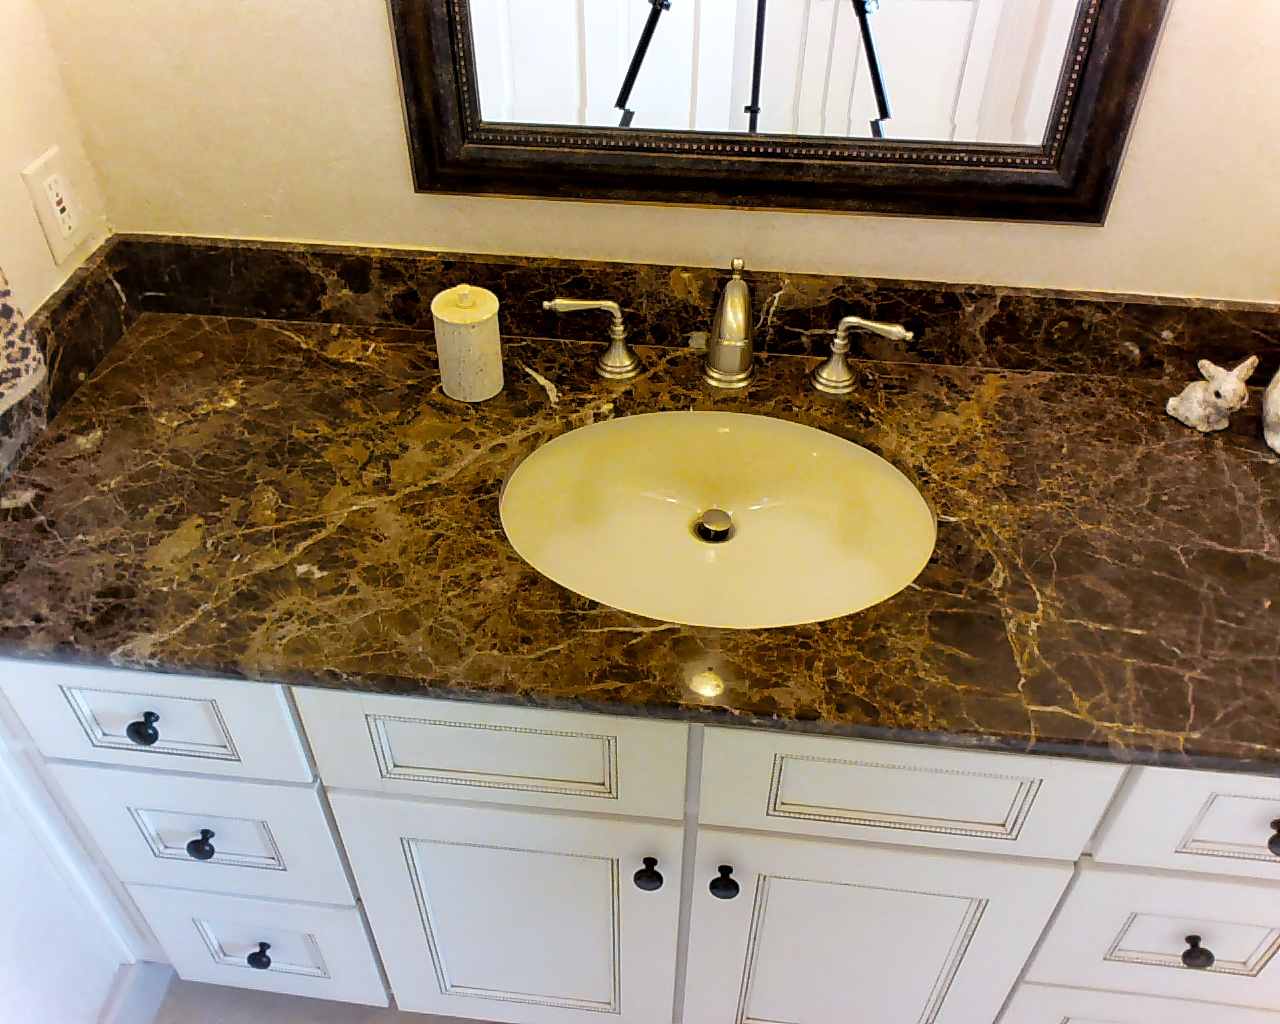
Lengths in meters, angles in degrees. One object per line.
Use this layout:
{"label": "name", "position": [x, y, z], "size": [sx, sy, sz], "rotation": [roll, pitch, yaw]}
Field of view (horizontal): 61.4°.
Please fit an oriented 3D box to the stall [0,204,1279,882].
{"label": "stall", "position": [0.090, -0.010, 1.150], "size": [1.560, 0.300, 0.590], "rotation": [5, 42, 4]}
